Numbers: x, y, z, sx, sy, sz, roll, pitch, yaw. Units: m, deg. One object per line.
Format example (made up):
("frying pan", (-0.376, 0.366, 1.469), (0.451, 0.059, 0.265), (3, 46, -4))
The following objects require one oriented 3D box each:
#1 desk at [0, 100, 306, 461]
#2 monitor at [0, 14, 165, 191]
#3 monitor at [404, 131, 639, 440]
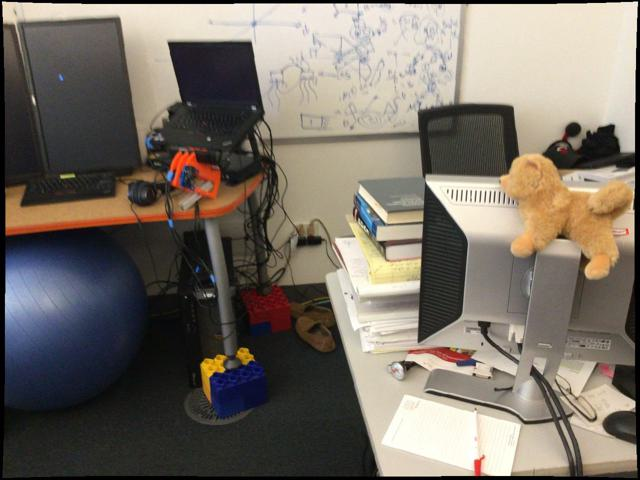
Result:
("desk", (-0.849, 0.080, 2.200), (1.499, 0.971, 0.980), (-3, 25, -4))
("monitor", (-1.079, -0.531, 2.170), (0.839, 0.550, 0.480), (-3, 25, -4))
("monitor", (0.420, 0.070, 1.050), (0.460, 0.460, 0.270), (-3, 25, -4))
